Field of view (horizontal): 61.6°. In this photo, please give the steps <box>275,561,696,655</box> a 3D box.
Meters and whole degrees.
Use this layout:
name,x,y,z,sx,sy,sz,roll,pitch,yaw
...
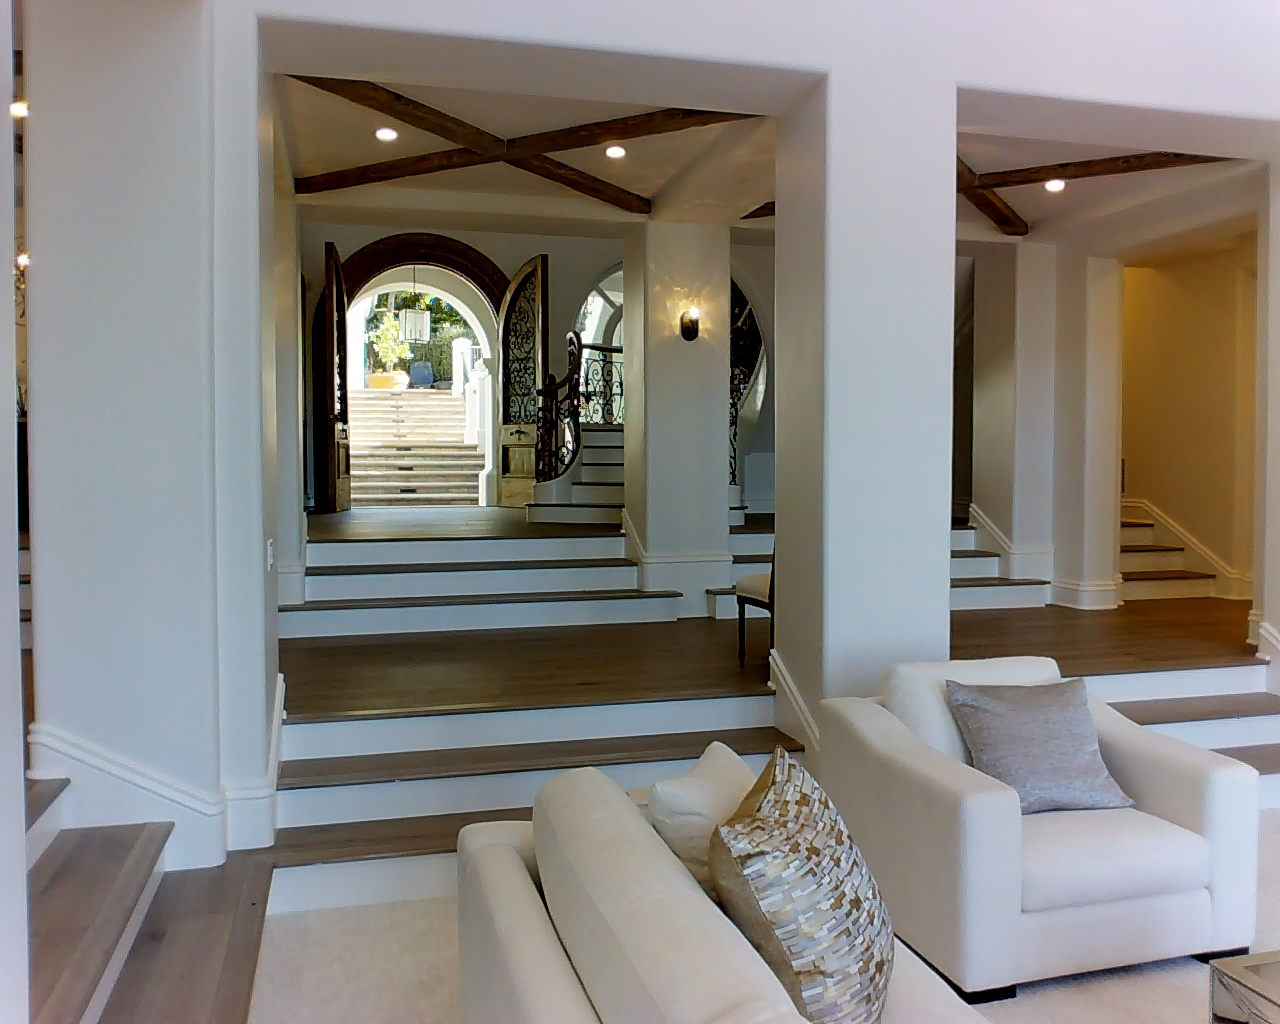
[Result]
name,x,y,z,sx,sy,sz,roll,pitch,yaw
steps,-0.990,0.610,7.110,2.659,0.440,0.580,-1,2,-15
